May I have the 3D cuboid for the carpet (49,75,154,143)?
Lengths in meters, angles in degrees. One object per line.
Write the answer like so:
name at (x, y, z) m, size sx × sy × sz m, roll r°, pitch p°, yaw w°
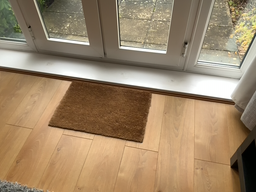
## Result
carpet at (-0.150, 0.060, 1.390) m, size 0.580 × 0.030 × 0.430 m, roll 9°, pitch 50°, yaw 9°
